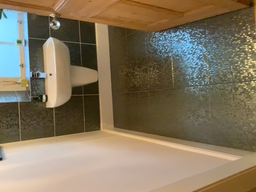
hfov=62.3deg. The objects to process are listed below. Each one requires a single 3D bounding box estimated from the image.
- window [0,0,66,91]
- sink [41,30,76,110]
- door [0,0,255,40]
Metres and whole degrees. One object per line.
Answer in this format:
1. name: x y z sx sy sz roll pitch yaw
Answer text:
1. window: -1.450 -0.560 2.230 0.170 1.480 1.000 -6 87 57
2. sink: -0.670 -0.210 2.000 0.450 0.170 0.660 -6 87 57
3. door: -0.280 -0.510 0.950 0.920 2.060 0.090 -2 91 57
